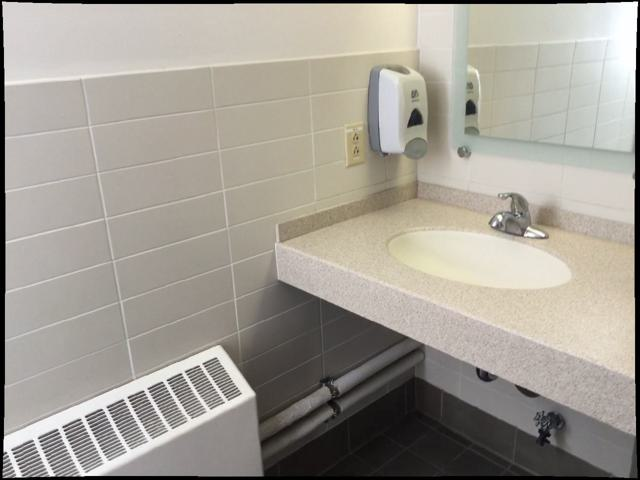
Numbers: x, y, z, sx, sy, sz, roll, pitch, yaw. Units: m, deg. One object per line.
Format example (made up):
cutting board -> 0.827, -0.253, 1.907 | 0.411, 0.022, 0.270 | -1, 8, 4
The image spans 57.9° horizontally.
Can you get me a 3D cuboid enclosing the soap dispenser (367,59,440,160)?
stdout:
soap dispenser -> 0.250, -0.390, 1.710 | 0.170, 0.260, 0.130 | -21, 27, -38
